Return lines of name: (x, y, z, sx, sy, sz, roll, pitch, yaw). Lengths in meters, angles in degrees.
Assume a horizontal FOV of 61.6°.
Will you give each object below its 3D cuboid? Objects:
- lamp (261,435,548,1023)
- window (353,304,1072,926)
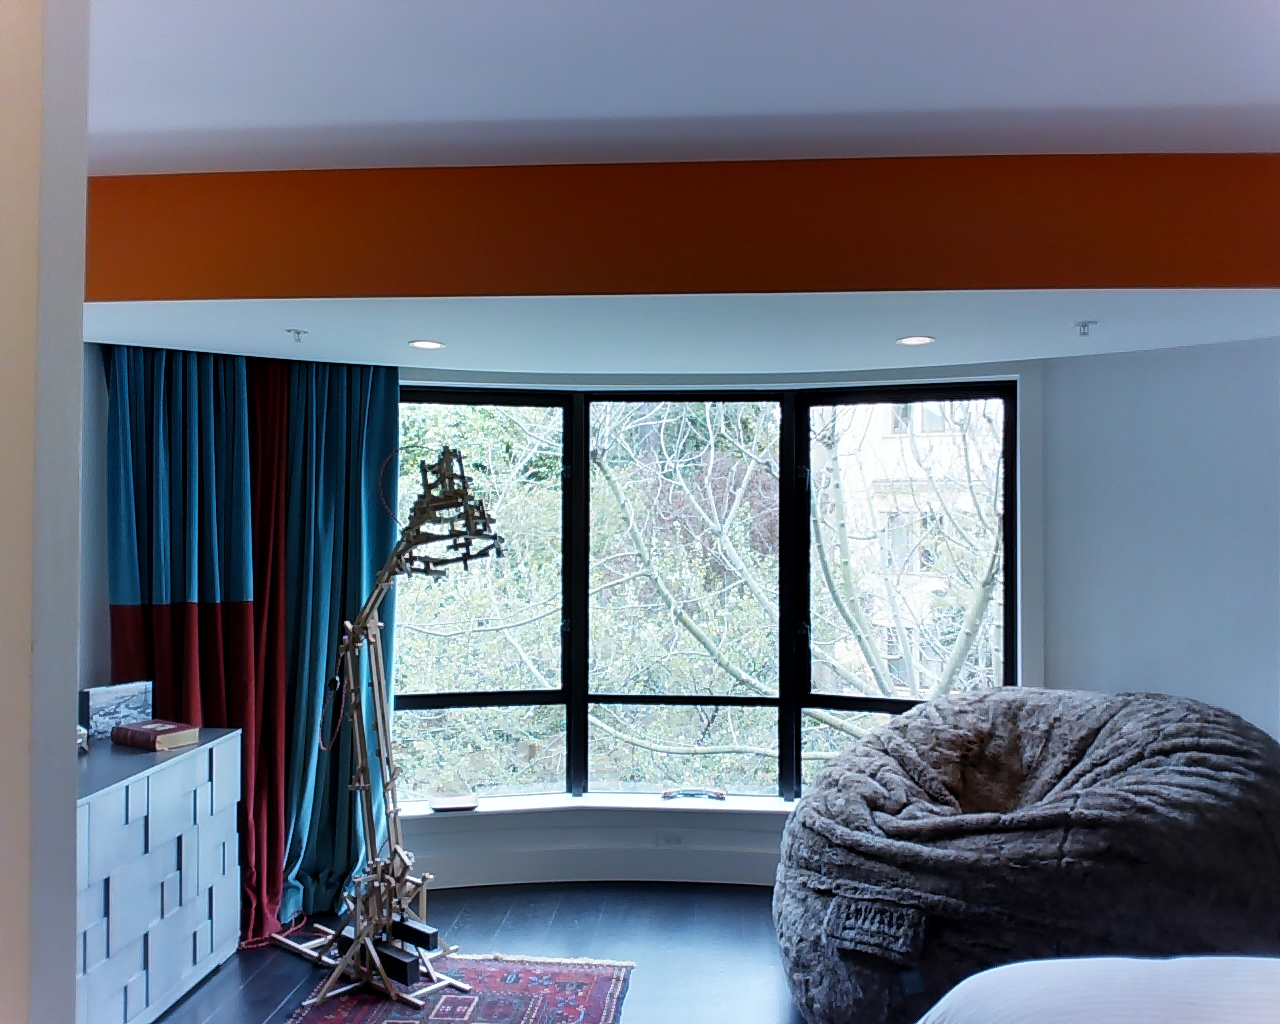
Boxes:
lamp: (-0.820, 0.650, 3.590, 1.110, 1.740, 0.340, 0, -1, 42)
window: (0.270, 0.380, 4.440, 2.750, 2.330, 0.620, 0, -1, 5)
